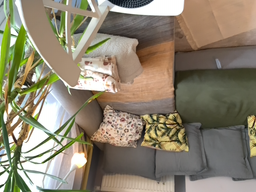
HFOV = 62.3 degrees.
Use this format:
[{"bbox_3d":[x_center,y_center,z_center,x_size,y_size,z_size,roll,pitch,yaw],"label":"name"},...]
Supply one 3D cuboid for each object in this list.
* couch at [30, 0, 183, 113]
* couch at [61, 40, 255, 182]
[{"bbox_3d":[-0.070,-0.300,1.590,0.910,0.640,0.550,-2,146,13],"label":"couch"},{"bbox_3d":[0.790,0.190,1.950,2.370,0.910,0.940,-2,146,13],"label":"couch"}]
